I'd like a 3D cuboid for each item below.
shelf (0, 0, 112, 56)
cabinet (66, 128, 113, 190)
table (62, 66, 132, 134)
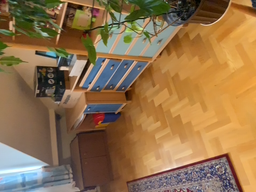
[{"bbox_3d":[-0.790,-0.730,1.740,0.590,1.120,0.430,-46,51,51],"label":"shelf"},{"bbox_3d":[-0.760,1.190,4.000,0.720,0.570,0.920,-46,51,51],"label":"cabinet"},{"bbox_3d":[-0.600,0.120,3.570,1.260,0.720,0.590,-46,51,51],"label":"table"}]
